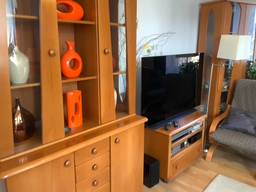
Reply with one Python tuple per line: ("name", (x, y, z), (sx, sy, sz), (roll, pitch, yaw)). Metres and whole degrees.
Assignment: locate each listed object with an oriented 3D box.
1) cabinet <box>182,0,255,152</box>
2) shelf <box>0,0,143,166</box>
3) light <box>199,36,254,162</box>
("cabinet", (1.400, -0.320, 3.230), (0.580, 1.990, 0.930), (14, 20, 43))
("shelf", (-0.390, -0.330, 1.480), (0.330, 1.180, 1.130), (14, 19, 42))
("light", (1.280, 0.020, 2.800), (0.440, 1.560, 0.350), (-12, 19, -41))
